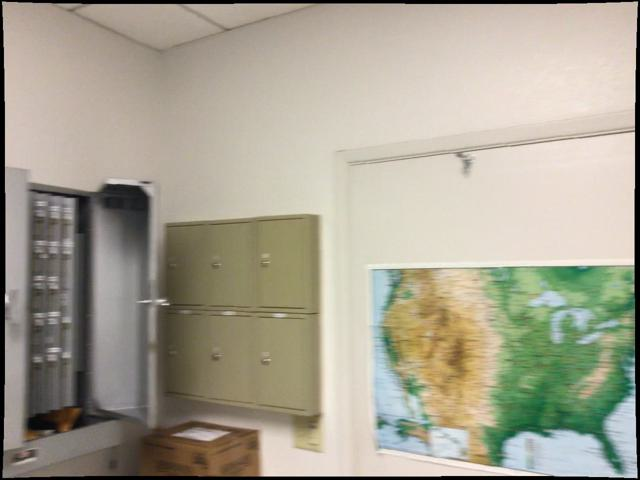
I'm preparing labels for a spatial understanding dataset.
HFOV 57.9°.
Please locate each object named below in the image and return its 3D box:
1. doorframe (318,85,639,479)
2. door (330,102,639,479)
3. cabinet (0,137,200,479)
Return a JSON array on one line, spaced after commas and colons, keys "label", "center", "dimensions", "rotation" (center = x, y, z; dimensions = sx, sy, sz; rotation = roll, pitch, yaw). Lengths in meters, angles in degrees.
[{"label": "doorframe", "center": [0.480, 0.711, 1.450], "dimensions": [1.049, 2.092, 0.080], "rotation": [-3, -5, 31]}, {"label": "door", "center": [0.499, 0.731, 1.440], "dimensions": [1.019, 2.062, 0.070], "rotation": [-3, -5, 31]}, {"label": "cabinet", "center": [-0.759, 0.190, 1.520], "dimensions": [0.450, 0.781, 0.790], "rotation": [-3, -5, 31]}]
